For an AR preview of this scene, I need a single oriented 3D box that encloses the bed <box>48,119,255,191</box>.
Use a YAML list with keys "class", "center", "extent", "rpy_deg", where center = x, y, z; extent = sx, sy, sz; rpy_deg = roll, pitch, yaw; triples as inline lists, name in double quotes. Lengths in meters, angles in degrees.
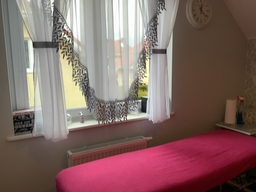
- class: "bed"
  center: [0.390, 0.740, 1.780]
  extent: [1.860, 0.730, 0.620]
  rpy_deg: [-5, 10, -30]
